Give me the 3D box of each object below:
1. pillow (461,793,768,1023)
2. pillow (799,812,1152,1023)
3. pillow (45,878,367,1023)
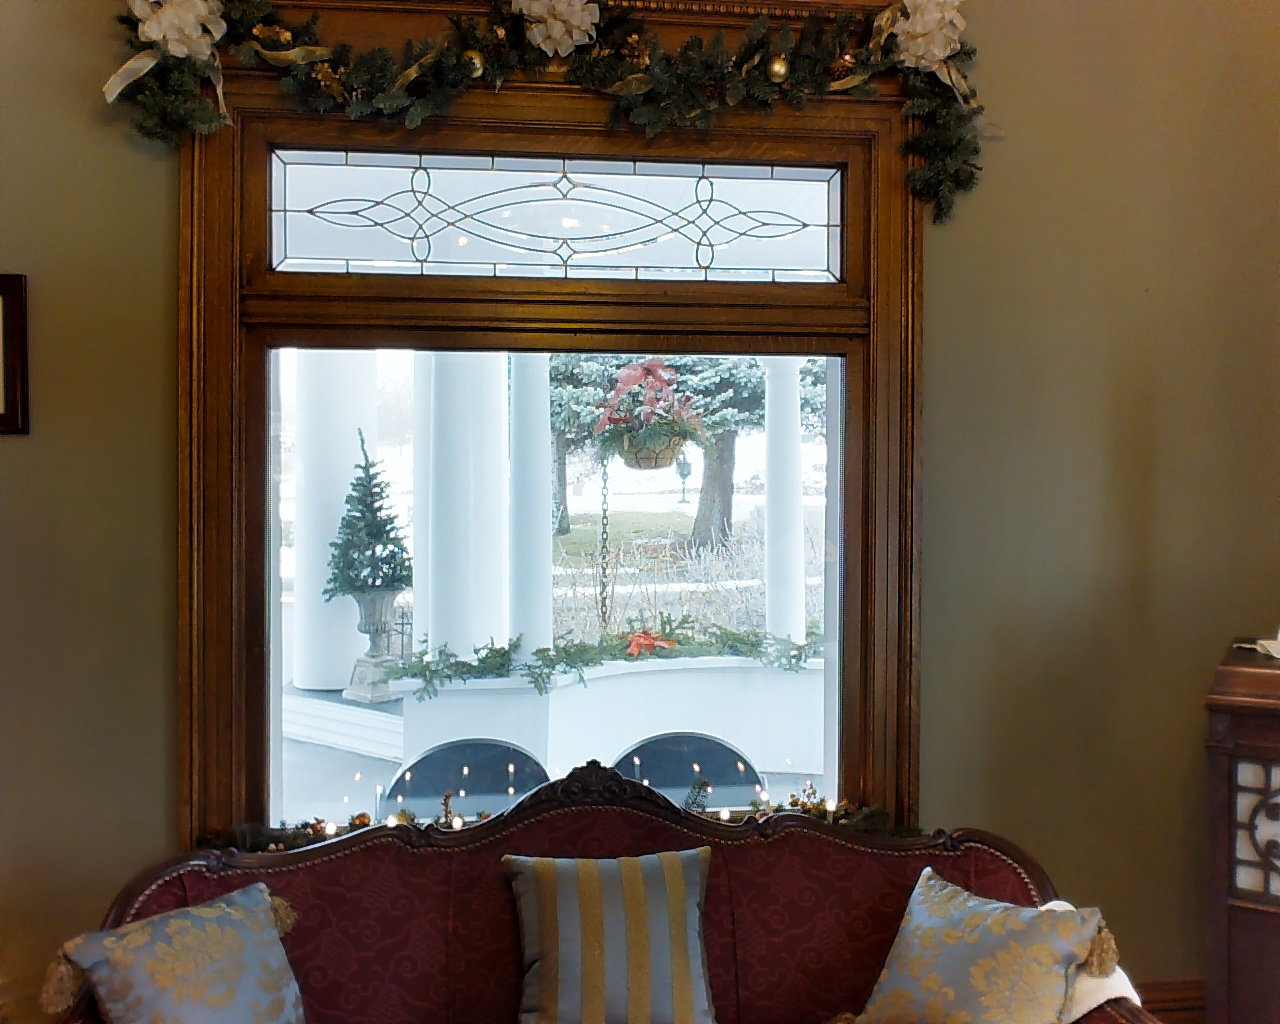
[{"bbox_3d":[-0.060,0.870,2.110,0.420,0.440,0.250,27,-3,-8],"label":"pillow"},{"bbox_3d":[0.610,0.880,2.000,0.210,0.420,0.420,43,-5,-41],"label":"pillow"},{"bbox_3d":[-0.790,0.890,1.940,0.190,0.390,0.430,29,-4,32],"label":"pillow"}]
